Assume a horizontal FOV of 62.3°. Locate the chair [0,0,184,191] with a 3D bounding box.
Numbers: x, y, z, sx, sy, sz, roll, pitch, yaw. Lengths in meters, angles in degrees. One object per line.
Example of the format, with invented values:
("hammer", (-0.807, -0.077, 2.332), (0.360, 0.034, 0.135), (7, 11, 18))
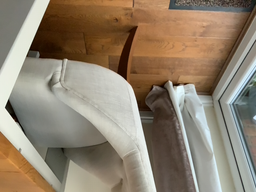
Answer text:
("chair", (-0.210, 0.160, 0.940), (0.610, 0.950, 0.620), (8, 143, -10))
